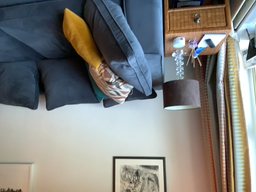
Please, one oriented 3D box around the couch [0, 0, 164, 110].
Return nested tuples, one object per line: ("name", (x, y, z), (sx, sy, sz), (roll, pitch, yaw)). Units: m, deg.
("couch", (-1.250, -0.370, 1.920), (3.090, 0.880, 1.020), (-1, 170, 9))
